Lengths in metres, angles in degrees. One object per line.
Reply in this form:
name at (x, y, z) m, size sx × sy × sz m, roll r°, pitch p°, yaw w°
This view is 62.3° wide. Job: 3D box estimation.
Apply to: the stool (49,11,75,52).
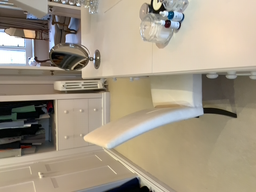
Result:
stool at (-1.680, -1.620, 5.350) m, size 0.590 × 0.430 × 0.750 m, roll -56°, pitch 45°, yaw 47°
